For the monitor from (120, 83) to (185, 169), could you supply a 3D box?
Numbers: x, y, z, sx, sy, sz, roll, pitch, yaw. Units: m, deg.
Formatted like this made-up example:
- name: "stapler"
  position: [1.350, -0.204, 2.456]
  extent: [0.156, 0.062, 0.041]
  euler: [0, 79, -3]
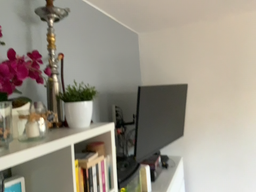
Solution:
- name: "monitor"
  position: [0.320, 0.220, 2.200]
  extent: [0.050, 0.680, 1.090]
  euler: [-14, -3, 33]

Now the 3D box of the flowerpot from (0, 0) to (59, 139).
- name: "flowerpot"
  position: [-0.550, -0.140, 0.940]
  extent: [0.190, 0.610, 0.430]
  euler: [-4, 1, 23]

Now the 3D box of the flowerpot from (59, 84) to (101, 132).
- name: "flowerpot"
  position: [-0.260, 0.060, 1.160]
  extent: [0.150, 0.240, 0.150]
  euler: [-4, 1, 23]
